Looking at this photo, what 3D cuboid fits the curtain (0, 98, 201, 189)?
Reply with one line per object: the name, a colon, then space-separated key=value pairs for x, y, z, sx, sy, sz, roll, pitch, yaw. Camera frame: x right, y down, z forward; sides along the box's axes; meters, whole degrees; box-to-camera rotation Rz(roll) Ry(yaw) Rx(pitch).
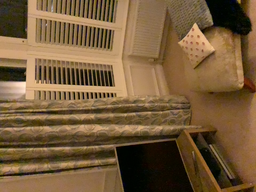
curtain: x=-0.590 y=0.350 z=1.860 sx=0.340 sy=2.860 sz=0.630 roll=-172 pitch=83 yaw=-65
